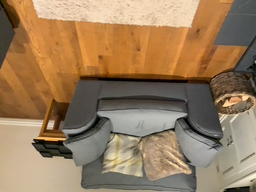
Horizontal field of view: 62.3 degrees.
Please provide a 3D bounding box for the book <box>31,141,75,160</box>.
[{"bbox_3d":[-0.880,0.660,2.550,0.420,0.080,0.380,4,146,-1],"label":"book"}]
